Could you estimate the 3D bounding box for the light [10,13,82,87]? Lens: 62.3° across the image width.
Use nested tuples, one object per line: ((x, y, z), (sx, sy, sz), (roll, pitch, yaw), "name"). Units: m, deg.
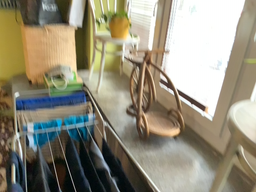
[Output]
((-0.810, -0.480, 2.170), (0.590, 0.630, 0.380), (-5, 27, -22), "light")
